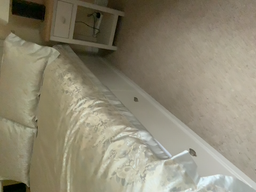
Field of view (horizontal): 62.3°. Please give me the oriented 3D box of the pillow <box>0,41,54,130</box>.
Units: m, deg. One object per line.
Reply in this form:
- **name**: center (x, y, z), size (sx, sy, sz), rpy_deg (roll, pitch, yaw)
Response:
- **pillow**: center (-0.930, -0.070, 1.810), size (0.190, 0.420, 0.750), rpy_deg (-89, 0, -60)
